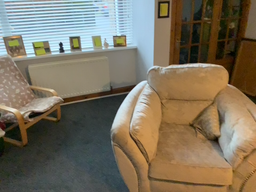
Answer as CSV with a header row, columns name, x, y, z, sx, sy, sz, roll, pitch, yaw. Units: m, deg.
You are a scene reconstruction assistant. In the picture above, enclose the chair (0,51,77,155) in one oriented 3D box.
name,x,y,z,sx,sy,sz,roll,pitch,yaw
chair,-1.350,0.010,2.700,1.020,0.920,0.750,11,27,24
